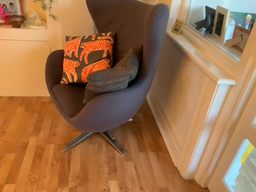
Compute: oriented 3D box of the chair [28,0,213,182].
[{"bbox_3d":[-0.130,-0.190,1.620,0.880,1.090,0.820,-15,38,-31],"label":"chair"}]
